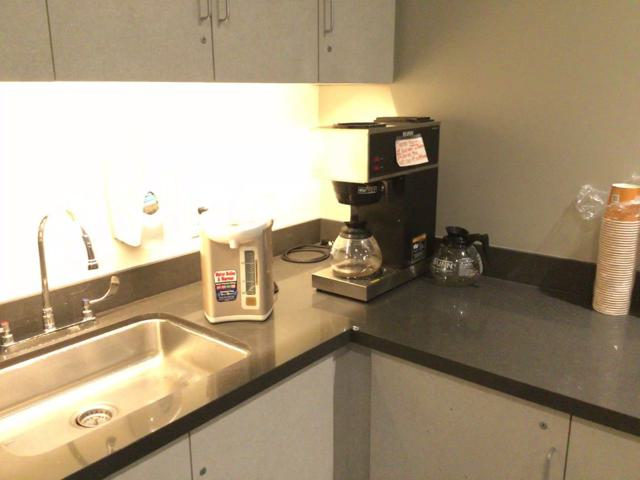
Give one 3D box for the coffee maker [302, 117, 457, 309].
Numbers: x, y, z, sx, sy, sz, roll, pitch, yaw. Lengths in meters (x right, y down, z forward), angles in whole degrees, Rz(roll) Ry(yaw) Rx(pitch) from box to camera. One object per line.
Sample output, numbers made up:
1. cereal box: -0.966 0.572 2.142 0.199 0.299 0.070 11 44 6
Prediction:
1. coffee maker: 0.190 -0.110 1.720 0.250 0.490 0.430 8 16 38
